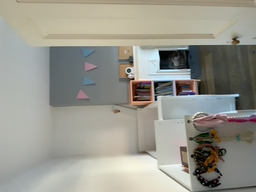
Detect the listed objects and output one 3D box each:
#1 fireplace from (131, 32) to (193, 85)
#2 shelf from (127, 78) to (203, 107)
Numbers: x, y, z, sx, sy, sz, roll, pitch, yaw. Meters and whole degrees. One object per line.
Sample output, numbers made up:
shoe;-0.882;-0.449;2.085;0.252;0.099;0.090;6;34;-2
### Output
fireplace;0.600;-0.670;3.810;0.230;1.020;0.890;129;139;-80
shelf;0.590;-0.050;3.530;0.380;1.160;0.410;129;139;-80
